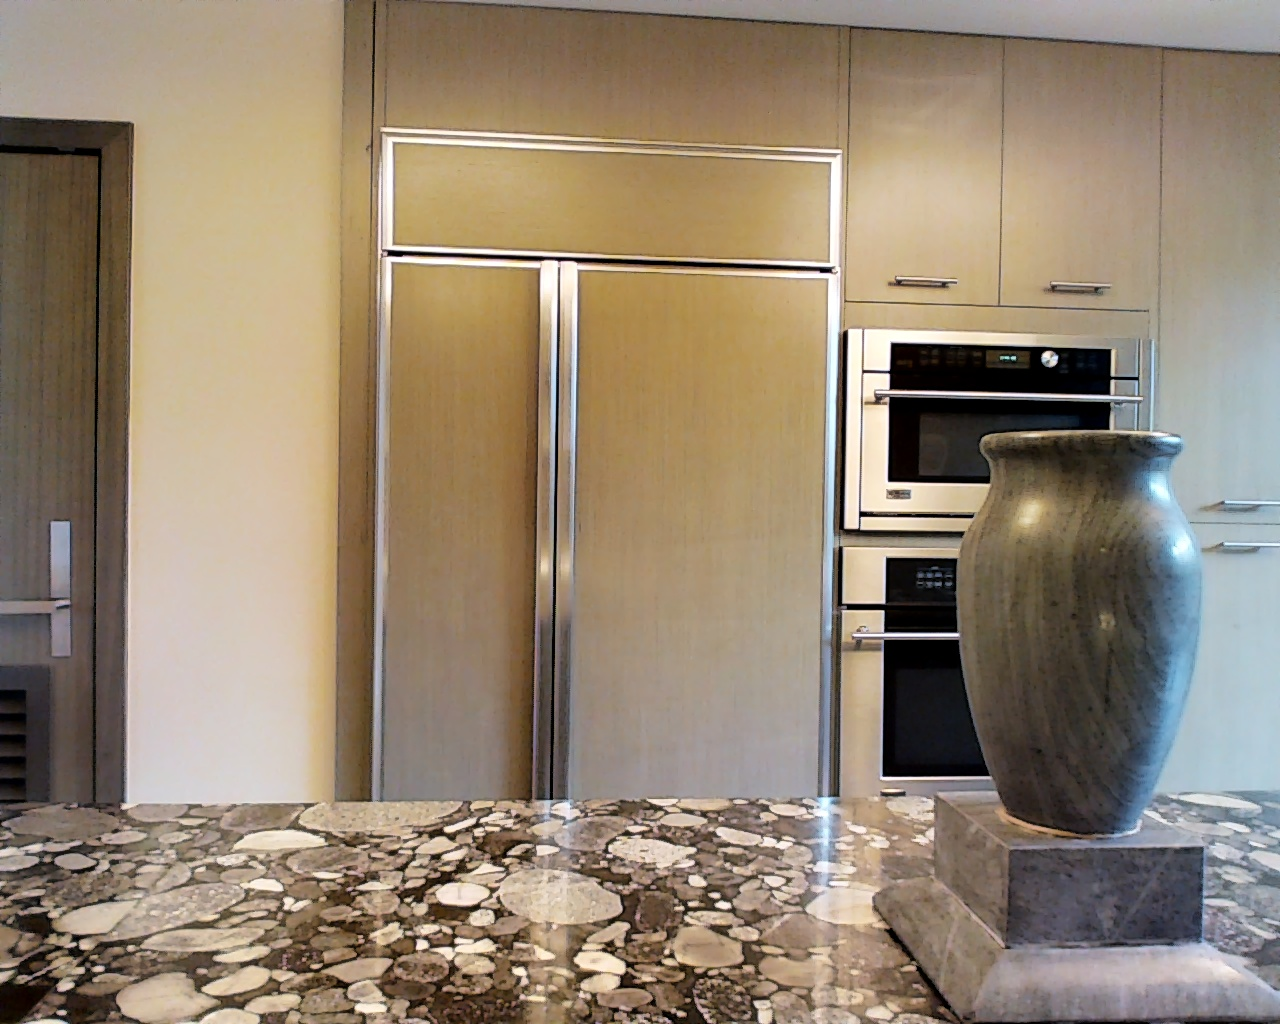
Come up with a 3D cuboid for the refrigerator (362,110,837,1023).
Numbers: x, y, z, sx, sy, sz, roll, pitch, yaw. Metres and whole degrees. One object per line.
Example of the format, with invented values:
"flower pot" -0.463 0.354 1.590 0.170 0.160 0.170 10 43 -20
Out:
"refrigerator" -0.090 0.170 2.540 1.080 2.140 0.120 0 0 -6
